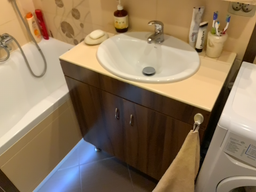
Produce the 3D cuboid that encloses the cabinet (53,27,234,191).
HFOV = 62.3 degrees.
[{"bbox_3d":[0.080,0.120,1.320,0.780,0.800,0.440,22,48,24],"label":"cabinet"}]
